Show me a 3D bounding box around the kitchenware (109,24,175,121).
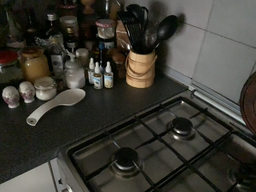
[{"bbox_3d":[0.060,-0.110,0.920,0.200,0.300,0.260,13,37,14],"label":"kitchenware"}]
